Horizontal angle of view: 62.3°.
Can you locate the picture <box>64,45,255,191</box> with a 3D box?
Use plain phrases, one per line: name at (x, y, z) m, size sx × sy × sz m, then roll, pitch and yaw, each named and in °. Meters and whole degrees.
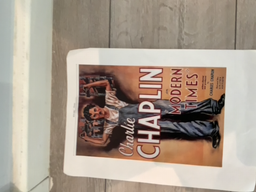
picture at (0.040, 0.030, 0.330) m, size 0.280 × 0.010 × 0.210 m, roll 3°, pitch 91°, yaw 7°
